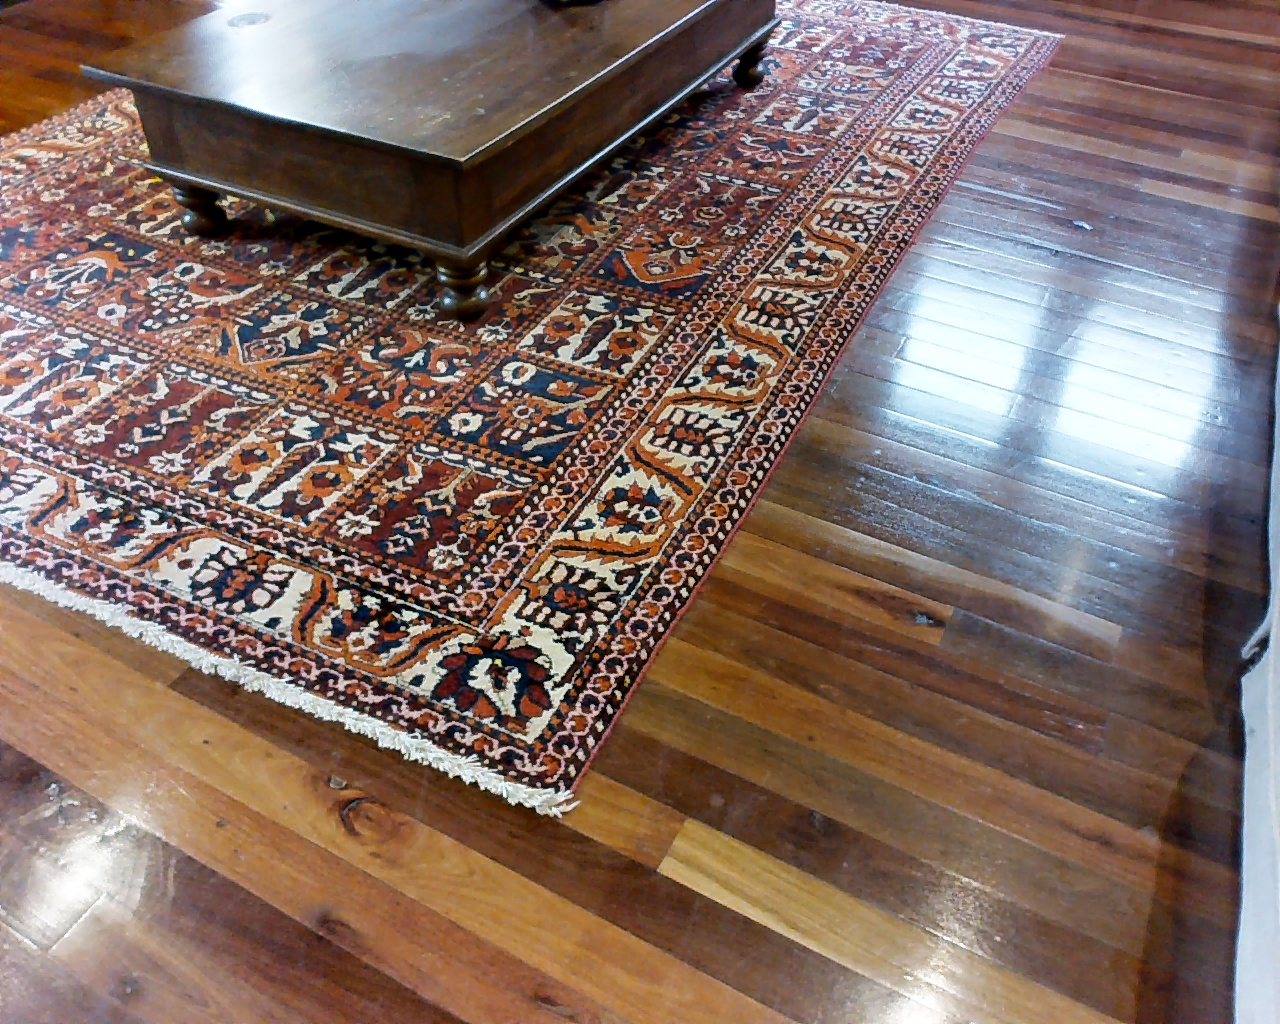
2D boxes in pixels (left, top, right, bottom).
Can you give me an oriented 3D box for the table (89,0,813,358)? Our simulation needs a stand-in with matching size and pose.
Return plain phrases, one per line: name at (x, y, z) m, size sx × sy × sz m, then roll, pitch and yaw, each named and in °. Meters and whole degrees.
table at (-0.300, -1.040, 2.580) m, size 0.910 × 0.380 × 1.580 m, roll 20°, pitch 45°, yaw 20°
